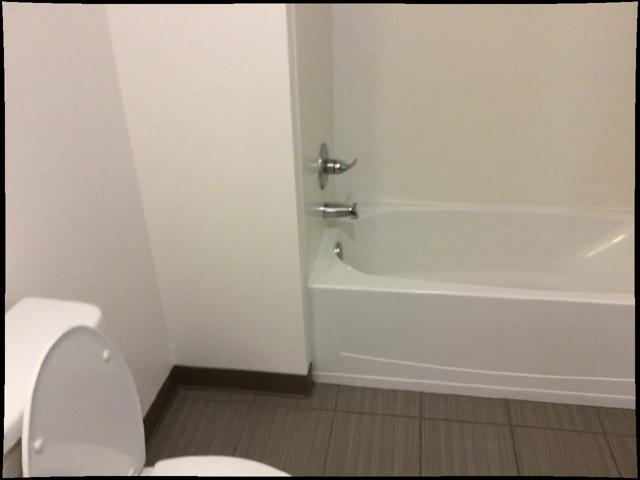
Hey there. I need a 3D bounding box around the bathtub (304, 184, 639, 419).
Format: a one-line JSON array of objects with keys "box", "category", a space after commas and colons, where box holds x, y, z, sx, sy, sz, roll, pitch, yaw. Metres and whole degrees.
[{"box": [0.729, 0.190, 2.220, 1.469, 0.450, 0.780, 3, 31, 7], "category": "bathtub"}]
